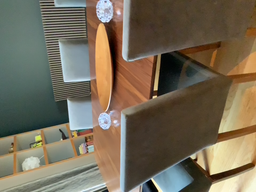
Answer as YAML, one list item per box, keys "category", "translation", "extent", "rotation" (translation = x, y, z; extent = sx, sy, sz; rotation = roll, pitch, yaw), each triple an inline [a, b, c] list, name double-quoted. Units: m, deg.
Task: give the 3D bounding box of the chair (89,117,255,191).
- category: "chair"
  translation: [0.280, 0.580, 1.440]
  extent: [0.560, 0.940, 0.450]
  rotation: [-132, 38, -51]

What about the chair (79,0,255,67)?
- category: "chair"
  translation: [0.310, -0.490, 0.900]
  extent: [0.540, 0.930, 0.460]
  rotation: [-132, 38, -51]
